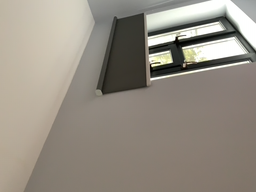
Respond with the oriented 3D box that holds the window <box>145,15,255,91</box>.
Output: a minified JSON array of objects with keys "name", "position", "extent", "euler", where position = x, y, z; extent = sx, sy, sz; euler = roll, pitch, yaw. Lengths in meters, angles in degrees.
[{"name":"window","position":[0.760,-0.550,2.420],"extent":[1.210,1.130,0.080],"euler":[-86,-17,-50]}]
